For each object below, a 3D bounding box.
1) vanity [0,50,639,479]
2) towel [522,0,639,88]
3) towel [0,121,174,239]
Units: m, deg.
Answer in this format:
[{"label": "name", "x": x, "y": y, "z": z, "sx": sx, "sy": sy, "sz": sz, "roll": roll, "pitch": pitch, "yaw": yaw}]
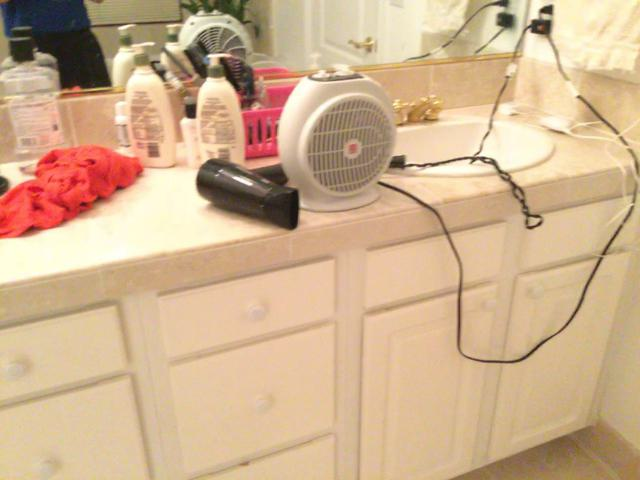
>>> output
[{"label": "vanity", "x": -0.390, "y": 0.250, "z": 1.240, "sx": 2.320, "sy": 1.060, "sz": 0.560, "roll": -11, "pitch": 26, "yaw": -20}, {"label": "towel", "x": 0.630, "y": -0.500, "z": 1.350, "sx": 0.090, "sy": 0.230, "sz": 0.320, "roll": -11, "pitch": 26, "yaw": -20}, {"label": "towel", "x": -0.510, "y": -0.130, "z": 1.120, "sx": 0.370, "sy": 0.090, "sz": 0.380, "roll": -11, "pitch": 26, "yaw": -20}]
